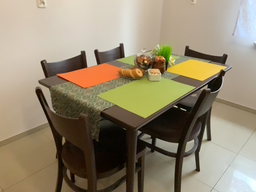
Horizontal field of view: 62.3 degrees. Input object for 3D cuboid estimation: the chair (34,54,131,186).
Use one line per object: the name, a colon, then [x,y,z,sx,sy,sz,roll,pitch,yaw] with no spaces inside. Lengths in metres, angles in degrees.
chair: [-0.310,0.140,1.570,0.480,0.760,0.410,18,30,31]

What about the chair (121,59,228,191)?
chair: [0.280,0.220,1.410,0.480,0.780,0.420,17,29,28]

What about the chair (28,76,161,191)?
chair: [-0.160,0.350,1.130,0.480,0.760,0.370,-18,32,-37]
